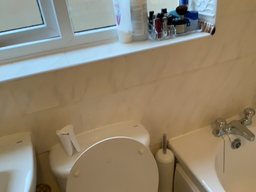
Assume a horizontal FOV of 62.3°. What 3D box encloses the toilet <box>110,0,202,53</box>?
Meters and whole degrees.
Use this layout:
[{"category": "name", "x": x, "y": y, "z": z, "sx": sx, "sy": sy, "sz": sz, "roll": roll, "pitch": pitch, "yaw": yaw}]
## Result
[{"category": "toilet", "x": 0.110, "y": -0.330, "z": 0.870, "sx": 0.320, "sy": 0.210, "sz": 0.170, "roll": -13, "pitch": 31, "yaw": -12}]
